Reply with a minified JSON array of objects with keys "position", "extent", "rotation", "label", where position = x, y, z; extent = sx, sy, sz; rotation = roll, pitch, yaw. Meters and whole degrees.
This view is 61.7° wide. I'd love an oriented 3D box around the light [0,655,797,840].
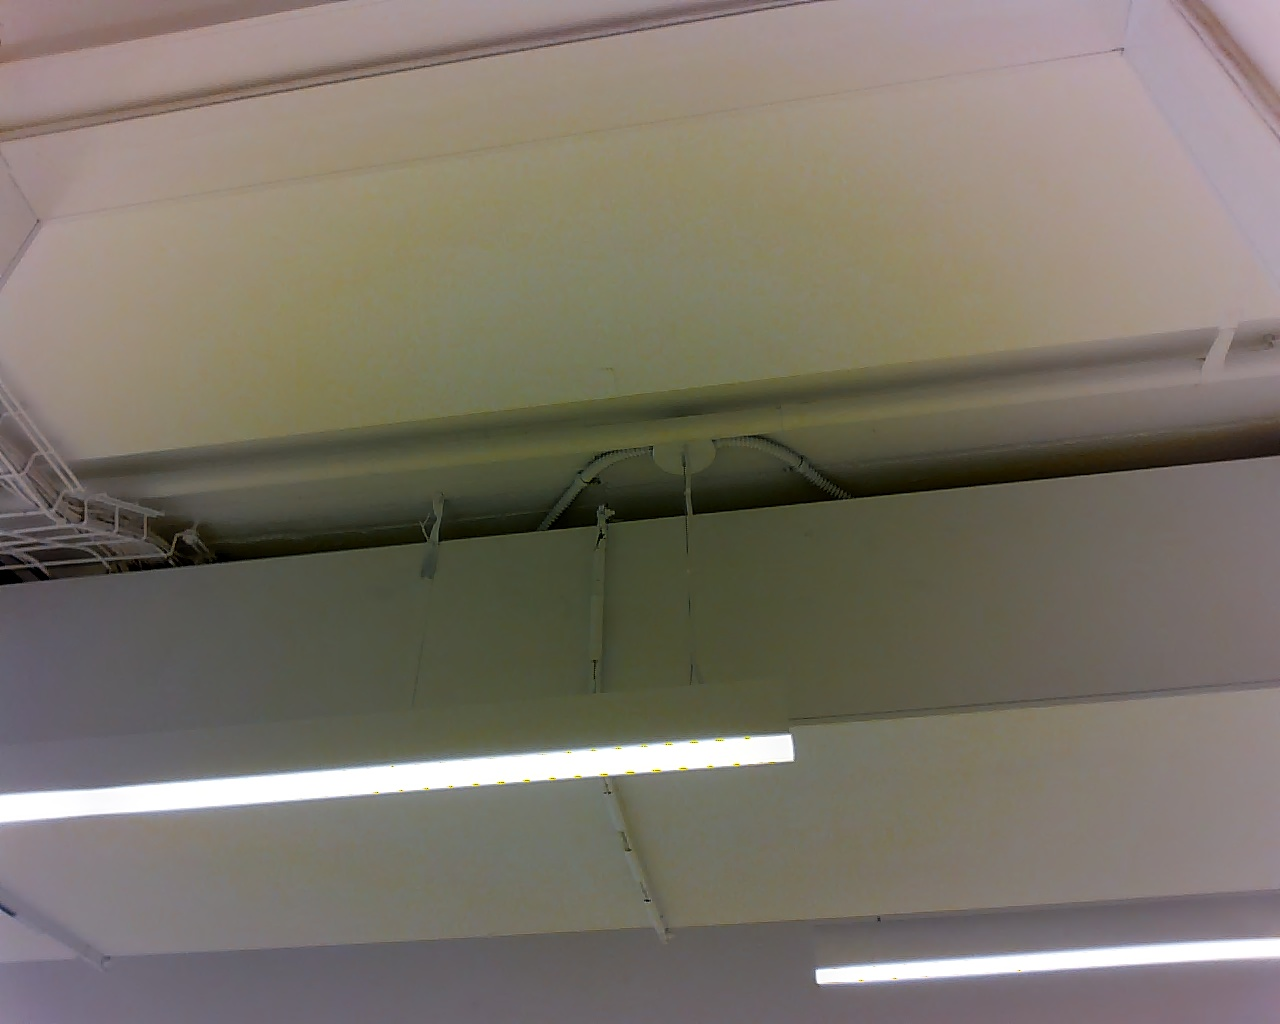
[{"position":[-0.959,0.460,1.880],"extent":[2.438,0.130,0.180],"rotation":[-6,-42,6],"label":"light"}]
